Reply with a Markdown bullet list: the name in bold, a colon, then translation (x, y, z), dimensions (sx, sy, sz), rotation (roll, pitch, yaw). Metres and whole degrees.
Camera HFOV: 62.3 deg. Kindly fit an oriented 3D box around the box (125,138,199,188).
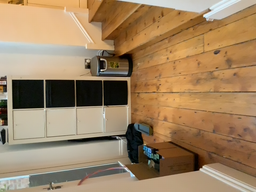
- **box**: translation (0.250, 0.510, 1.710), dimensions (0.460, 0.400, 0.230), rotation (174, 95, -69)
